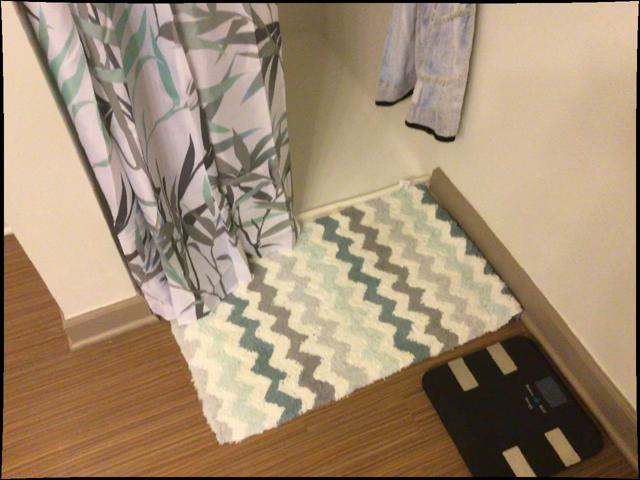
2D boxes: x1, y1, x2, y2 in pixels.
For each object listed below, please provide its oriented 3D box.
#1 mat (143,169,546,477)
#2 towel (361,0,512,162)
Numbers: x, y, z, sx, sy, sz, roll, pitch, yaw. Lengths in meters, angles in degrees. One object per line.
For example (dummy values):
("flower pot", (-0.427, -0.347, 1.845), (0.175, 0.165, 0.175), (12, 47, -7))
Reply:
("mat", (0.040, 0.150, 1.490), (0.868, 0.050, 0.581), (-18, 55, -13))
("towel", (0.259, -0.611, 1.260), (0.170, 0.871, 0.330), (-18, 55, -13))
